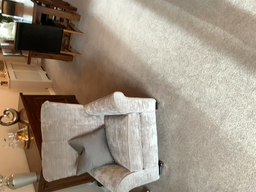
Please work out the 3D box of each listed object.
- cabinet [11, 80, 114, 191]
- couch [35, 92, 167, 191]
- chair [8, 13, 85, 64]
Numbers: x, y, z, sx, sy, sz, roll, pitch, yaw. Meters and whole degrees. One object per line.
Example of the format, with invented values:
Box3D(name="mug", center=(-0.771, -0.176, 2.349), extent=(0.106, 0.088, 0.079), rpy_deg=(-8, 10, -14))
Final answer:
Box3D(name="cabinet", center=(-1.130, 0.440, 3.230), extent=(1.950, 0.900, 0.570), rpy_deg=(42, 123, 45))
Box3D(name="couch", center=(-0.310, 0.400, 2.100), extent=(0.980, 0.910, 0.820), rpy_deg=(-4, 87, 54))
Box3D(name="chair", center=(-1.300, -0.890, 3.380), extent=(0.580, 0.980, 0.500), rpy_deg=(43, 124, 45))
